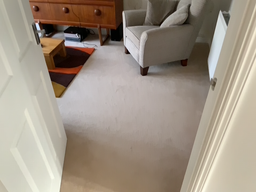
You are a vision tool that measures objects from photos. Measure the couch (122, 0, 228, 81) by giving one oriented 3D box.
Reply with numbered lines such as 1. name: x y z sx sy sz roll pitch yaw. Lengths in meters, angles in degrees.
1. couch: 0.480 -0.860 2.670 0.900 0.890 0.850 -11 40 -14
